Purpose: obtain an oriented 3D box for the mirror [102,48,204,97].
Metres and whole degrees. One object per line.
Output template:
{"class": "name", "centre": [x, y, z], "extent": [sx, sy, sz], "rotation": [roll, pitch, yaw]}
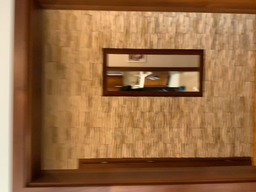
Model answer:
{"class": "mirror", "centre": [0.300, -0.270, 2.540], "extent": [0.130, 1.200, 0.550], "rotation": [-152, 62, -85]}
